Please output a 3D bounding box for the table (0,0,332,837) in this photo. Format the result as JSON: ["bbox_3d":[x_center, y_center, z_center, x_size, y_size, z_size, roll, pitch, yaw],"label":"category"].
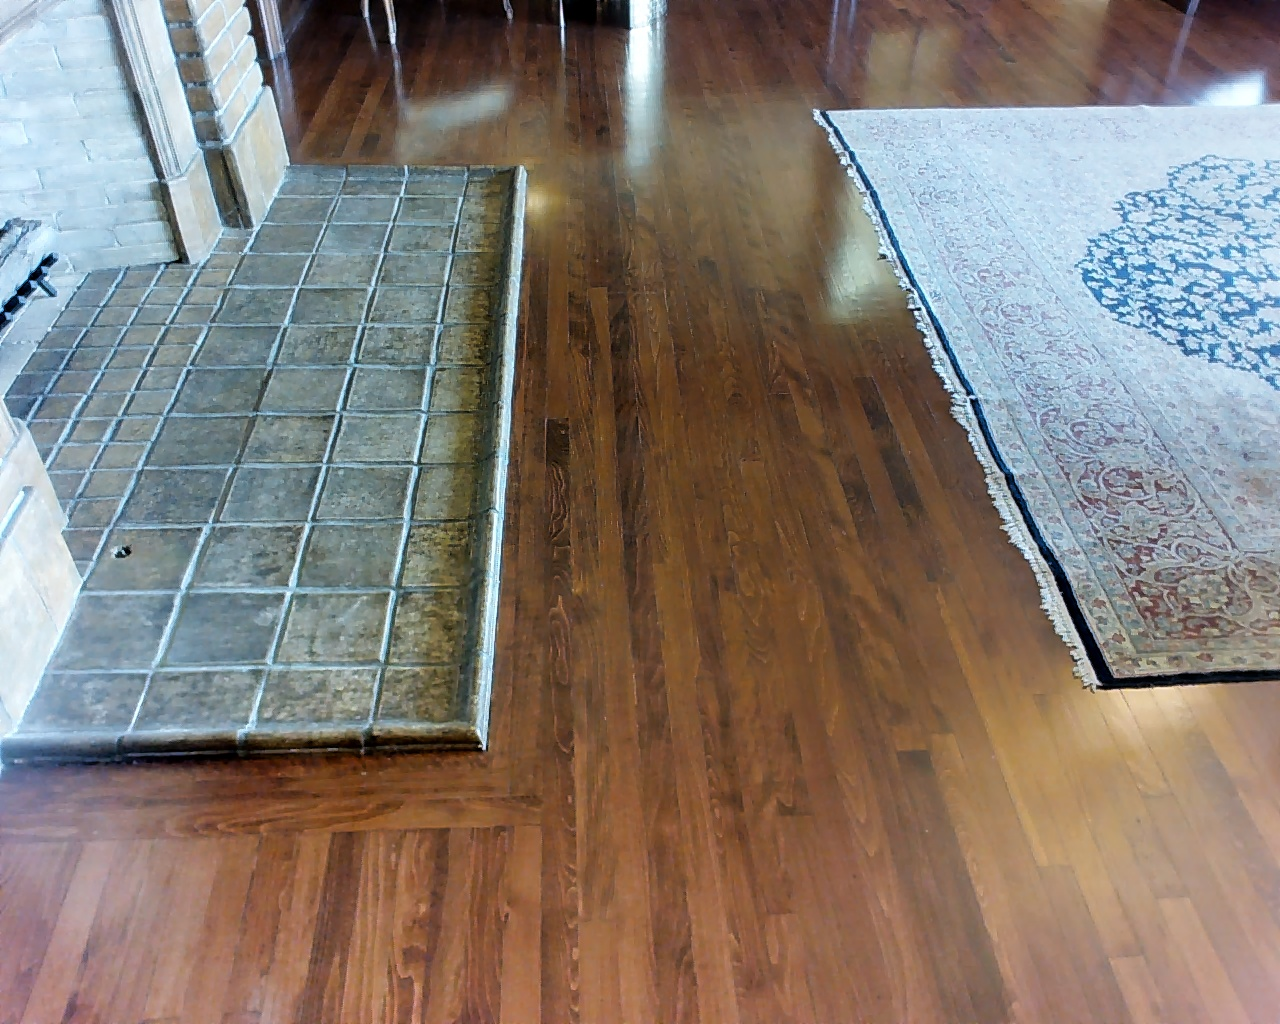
[{"bbox_3d":[-1.490,-0.890,2.390,0.890,1.290,2.870,-2,41,-2],"label":"table"}]
